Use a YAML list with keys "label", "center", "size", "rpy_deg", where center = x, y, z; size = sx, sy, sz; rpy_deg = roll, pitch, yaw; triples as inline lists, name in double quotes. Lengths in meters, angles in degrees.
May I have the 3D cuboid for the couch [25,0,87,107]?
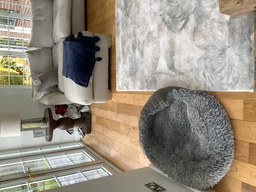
- label: "couch"
  center: [-1.320, -1.460, 3.760]
  size: [1.090, 0.820, 3.190]
  rpy_deg: [6, 95, 58]
